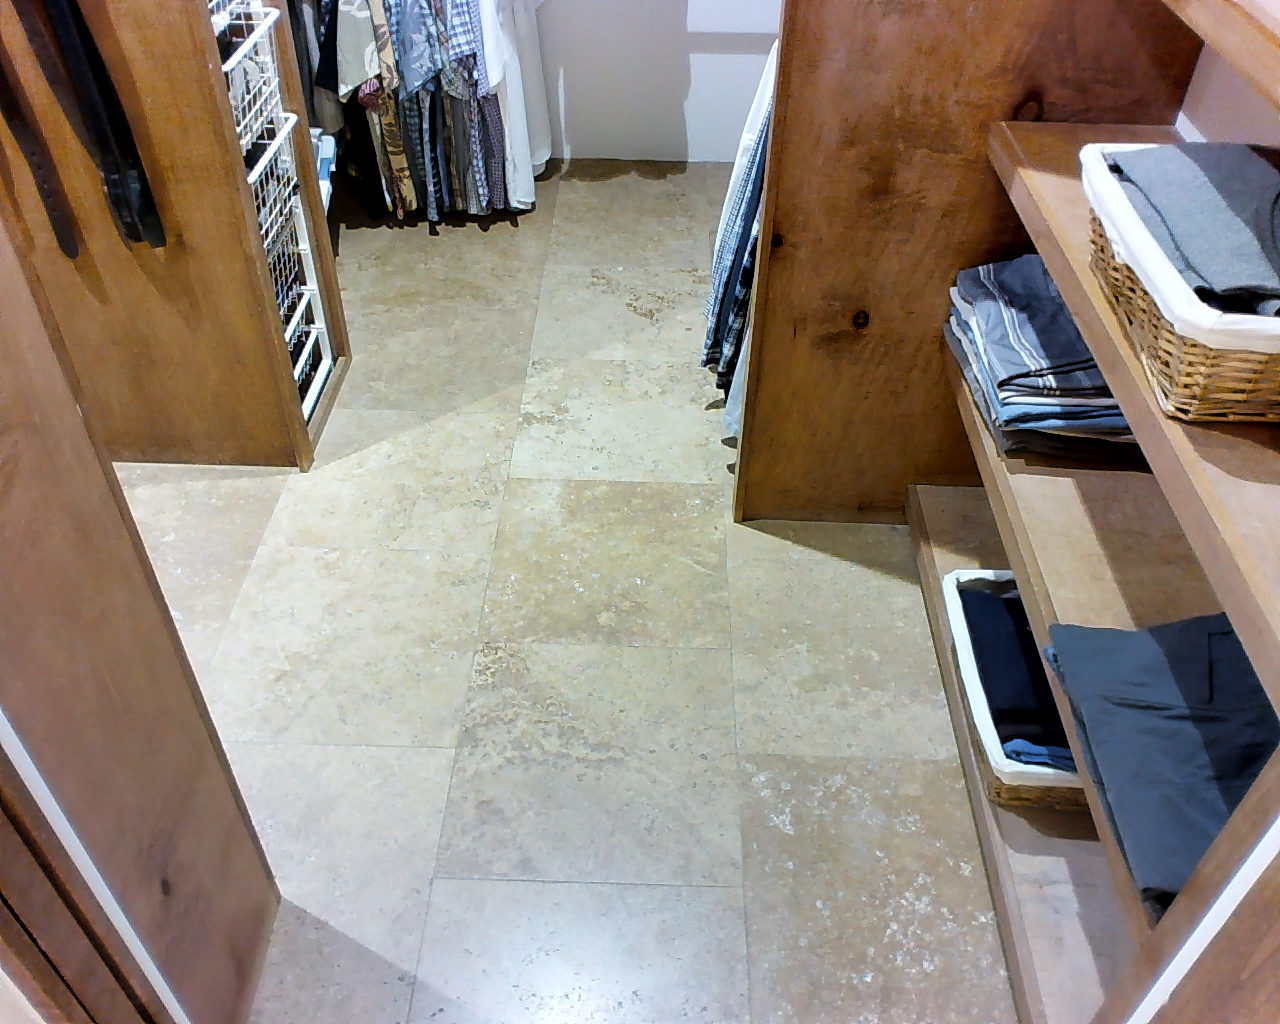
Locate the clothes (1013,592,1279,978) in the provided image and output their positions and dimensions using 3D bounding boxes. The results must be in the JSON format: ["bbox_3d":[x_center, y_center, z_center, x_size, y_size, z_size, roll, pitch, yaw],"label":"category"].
[{"bbox_3d":[0.580,0.260,1.100,0.270,0.090,0.400,1,42,0],"label":"clothes"}]

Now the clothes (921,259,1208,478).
[{"bbox_3d":[0.630,-0.230,1.650,0.300,0.160,0.350,1,42,0],"label":"clothes"}]

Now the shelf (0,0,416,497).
[{"bbox_3d":[-0.990,-1.190,1.940,0.710,2.100,1.100,2,42,1],"label":"shelf"}]

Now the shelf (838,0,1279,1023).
[{"bbox_3d":[0.610,-0.490,0.930,0.390,2.570,1.160,2,42,0],"label":"shelf"}]

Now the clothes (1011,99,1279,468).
[{"bbox_3d":[0.620,-0.250,1.110,0.320,0.200,0.400,1,42,0],"label":"clothes"}]

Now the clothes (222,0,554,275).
[{"bbox_3d":[-0.620,-1.170,2.920,0.700,0.790,0.660,0,42,-1],"label":"clothes"}]

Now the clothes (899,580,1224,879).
[{"bbox_3d":[0.580,0.300,1.550,0.310,0.140,0.420,1,42,0],"label":"clothes"}]
